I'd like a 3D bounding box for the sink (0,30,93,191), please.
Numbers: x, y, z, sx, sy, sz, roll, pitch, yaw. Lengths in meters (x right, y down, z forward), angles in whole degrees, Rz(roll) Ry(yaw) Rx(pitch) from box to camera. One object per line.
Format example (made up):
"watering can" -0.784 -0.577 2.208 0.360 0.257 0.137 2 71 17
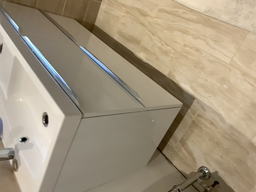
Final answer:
"sink" -0.410 0.060 0.880 0.590 0.100 0.440 42 119 34
